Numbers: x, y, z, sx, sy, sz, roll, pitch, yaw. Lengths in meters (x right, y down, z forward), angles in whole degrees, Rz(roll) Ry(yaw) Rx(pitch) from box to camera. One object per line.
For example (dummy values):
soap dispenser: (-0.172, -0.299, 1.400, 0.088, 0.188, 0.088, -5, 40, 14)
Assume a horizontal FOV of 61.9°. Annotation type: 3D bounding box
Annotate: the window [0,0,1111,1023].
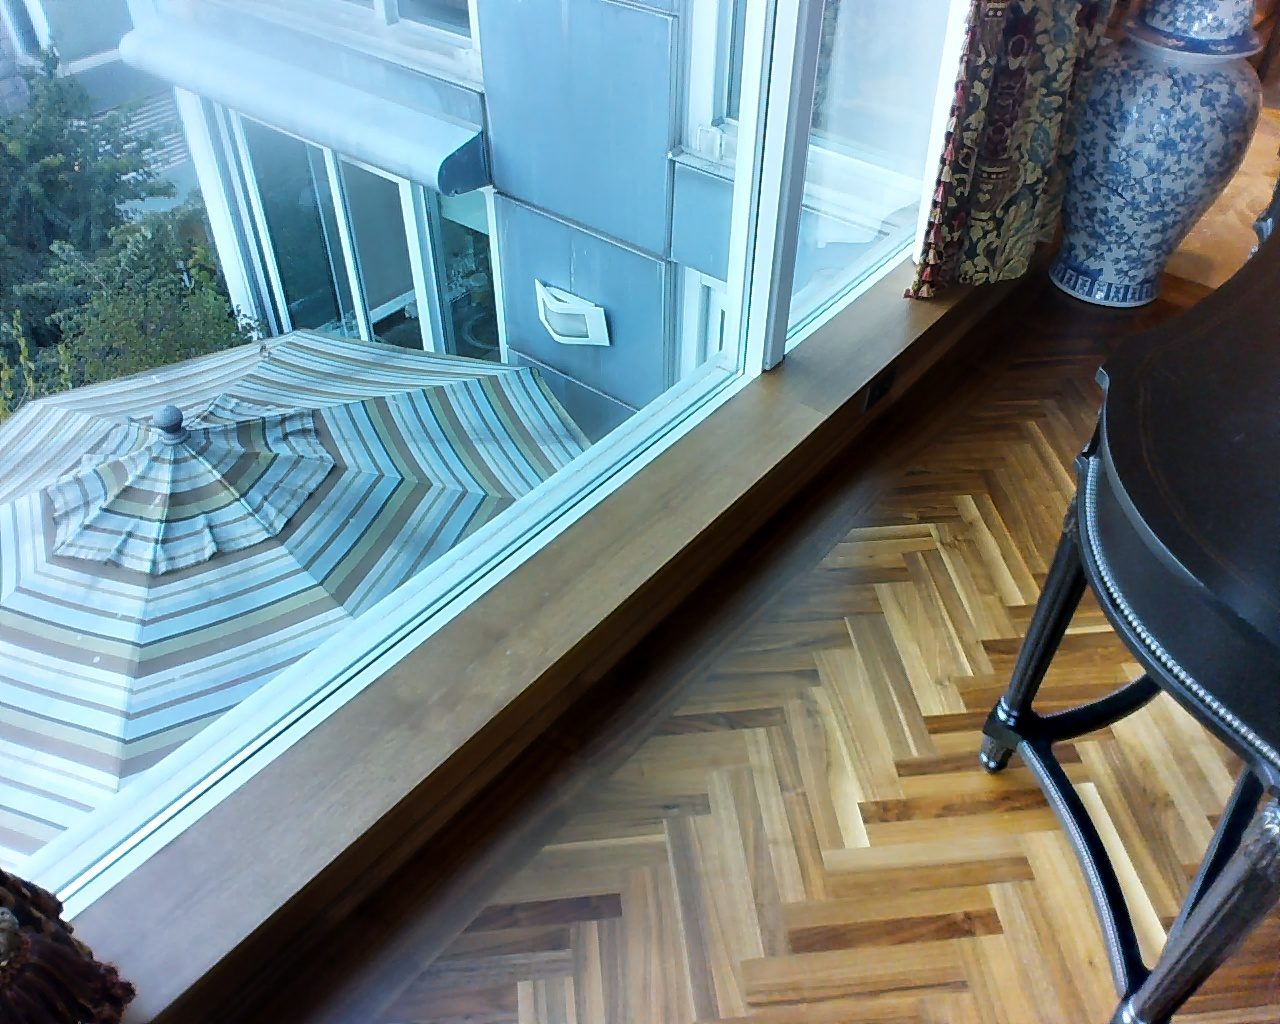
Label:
window: (0.040, -0.960, 1.220, 0.350, 2.680, 2.770, 29, 50, 27)
